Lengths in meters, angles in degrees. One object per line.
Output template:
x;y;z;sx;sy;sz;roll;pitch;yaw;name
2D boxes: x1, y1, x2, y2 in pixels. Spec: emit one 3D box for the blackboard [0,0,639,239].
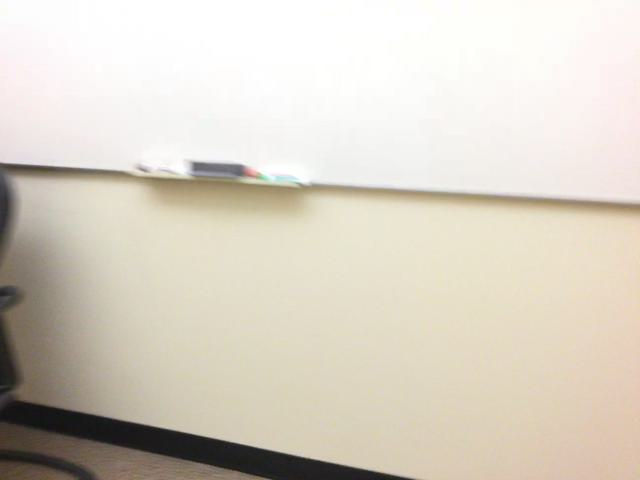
0.030;-0.280;1.240;2.440;0.460;0.140;4;22;12;blackboard
